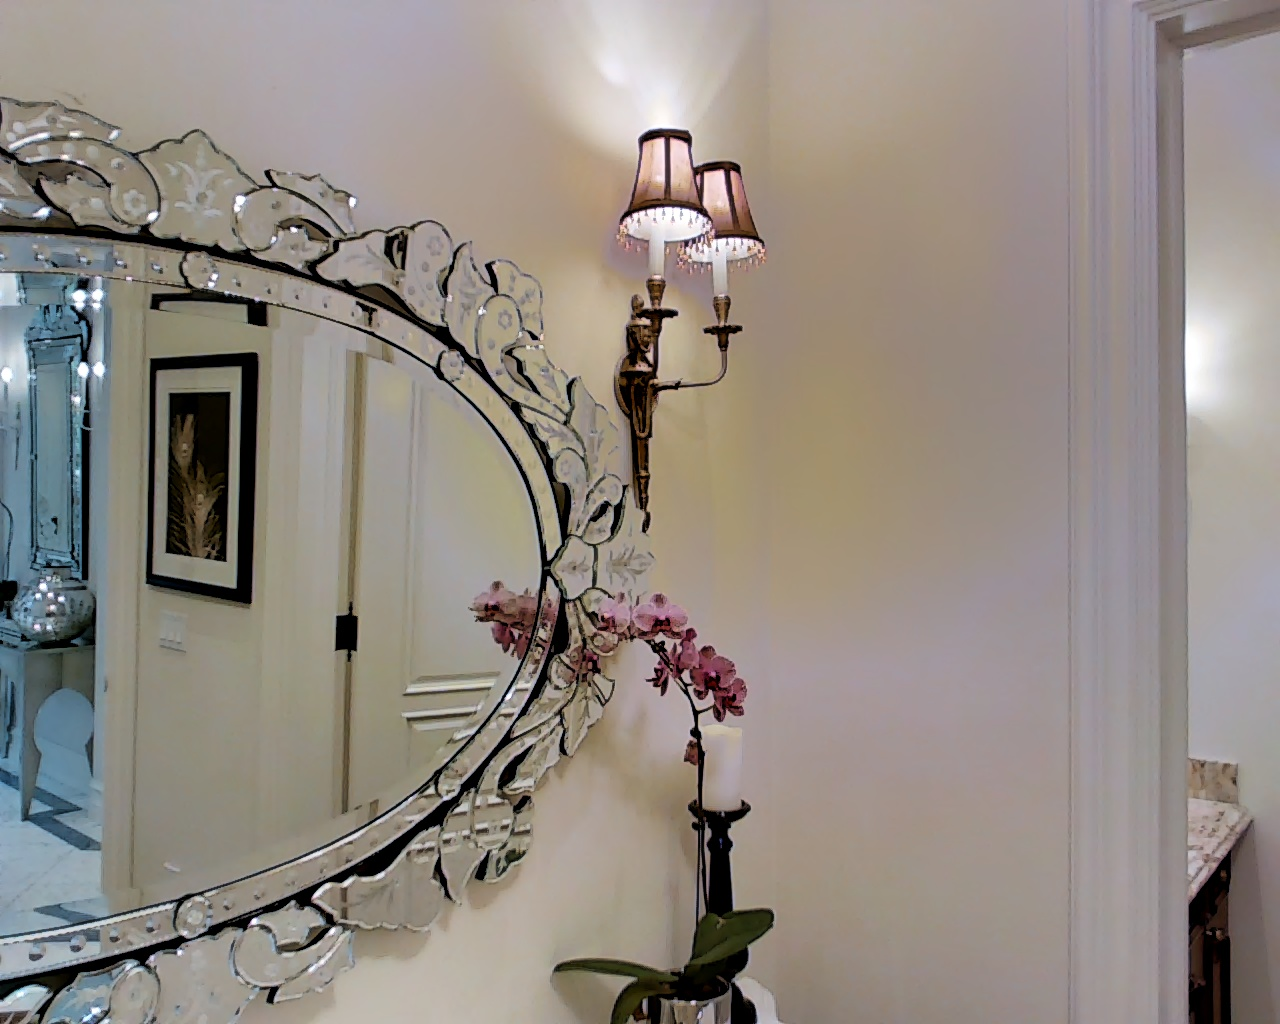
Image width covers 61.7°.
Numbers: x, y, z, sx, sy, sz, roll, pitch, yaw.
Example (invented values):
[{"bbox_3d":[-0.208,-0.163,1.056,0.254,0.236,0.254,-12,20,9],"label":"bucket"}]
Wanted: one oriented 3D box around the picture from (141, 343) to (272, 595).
[{"bbox_3d":[-1.320,-0.120,3.240,0.600,0.710,0.080,0,0,39],"label":"picture"}]
